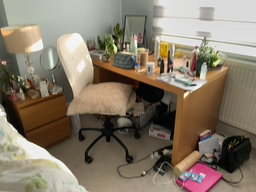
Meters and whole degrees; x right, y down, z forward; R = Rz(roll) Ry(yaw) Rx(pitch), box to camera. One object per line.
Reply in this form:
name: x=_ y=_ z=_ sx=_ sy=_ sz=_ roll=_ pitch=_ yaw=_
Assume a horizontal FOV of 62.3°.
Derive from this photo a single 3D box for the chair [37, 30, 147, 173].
chair: x=-0.230 y=0.010 z=1.830 sx=0.650 sy=1.010 sz=0.590 roll=7 pitch=26 yaw=13
